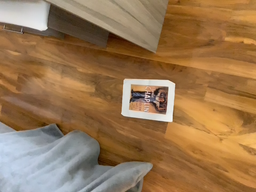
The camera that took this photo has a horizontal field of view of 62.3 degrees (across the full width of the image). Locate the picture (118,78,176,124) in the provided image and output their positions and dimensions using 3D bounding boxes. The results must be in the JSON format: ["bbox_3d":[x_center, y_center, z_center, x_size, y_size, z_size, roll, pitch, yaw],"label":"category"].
[{"bbox_3d":[0.090,0.020,1.090,0.300,0.040,0.220,1,91,27],"label":"picture"}]
